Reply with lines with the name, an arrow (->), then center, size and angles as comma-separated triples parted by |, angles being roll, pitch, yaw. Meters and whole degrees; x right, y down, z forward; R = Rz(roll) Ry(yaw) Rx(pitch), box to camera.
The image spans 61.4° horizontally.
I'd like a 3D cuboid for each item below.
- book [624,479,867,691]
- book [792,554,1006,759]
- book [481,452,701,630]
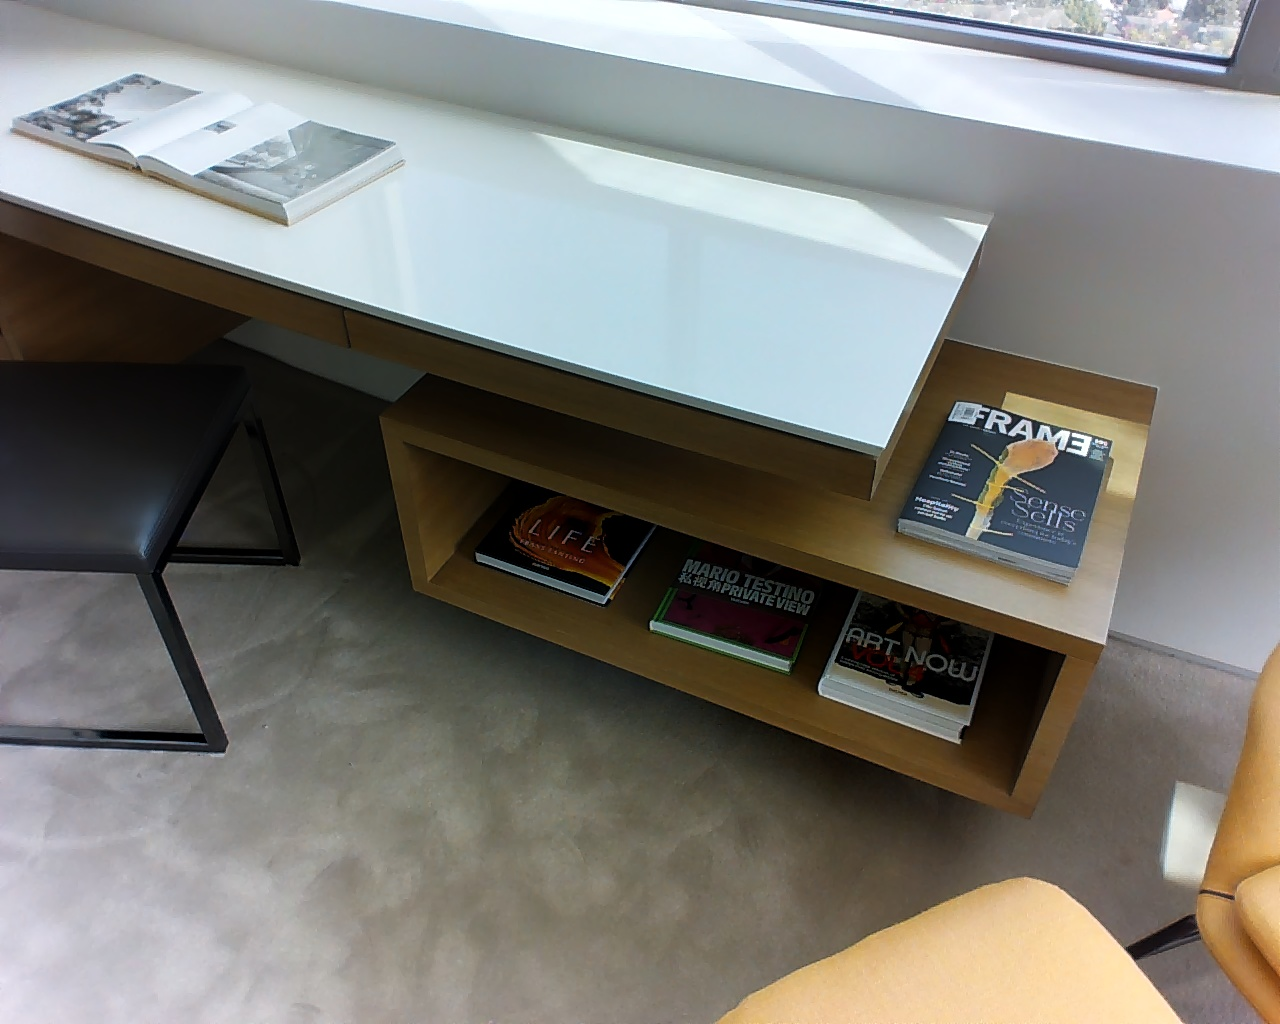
book -> 0.190, 0.110, 1.860 | 0.310, 0.050, 0.380 | 15, 43, 17
book -> 0.420, 0.220, 1.730 | 0.260, 0.060, 0.300 | 17, 44, 19
book -> -0.080, 0.040, 1.940 | 0.260, 0.050, 0.340 | 18, 44, 20
